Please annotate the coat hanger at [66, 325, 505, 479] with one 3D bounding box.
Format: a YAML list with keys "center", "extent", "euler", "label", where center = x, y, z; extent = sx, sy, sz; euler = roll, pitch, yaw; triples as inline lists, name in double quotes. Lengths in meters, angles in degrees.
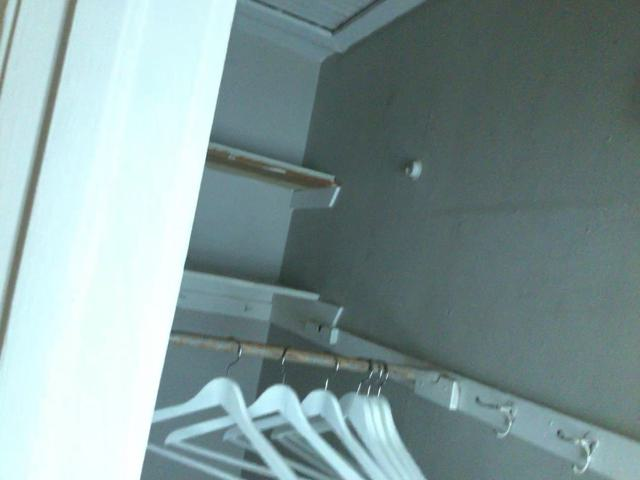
- center: [-0.080, 0.360, 1.060]
  extent: [0.650, 0.230, 0.440]
  euler: [16, -6, -26]
  label: "coat hanger"
